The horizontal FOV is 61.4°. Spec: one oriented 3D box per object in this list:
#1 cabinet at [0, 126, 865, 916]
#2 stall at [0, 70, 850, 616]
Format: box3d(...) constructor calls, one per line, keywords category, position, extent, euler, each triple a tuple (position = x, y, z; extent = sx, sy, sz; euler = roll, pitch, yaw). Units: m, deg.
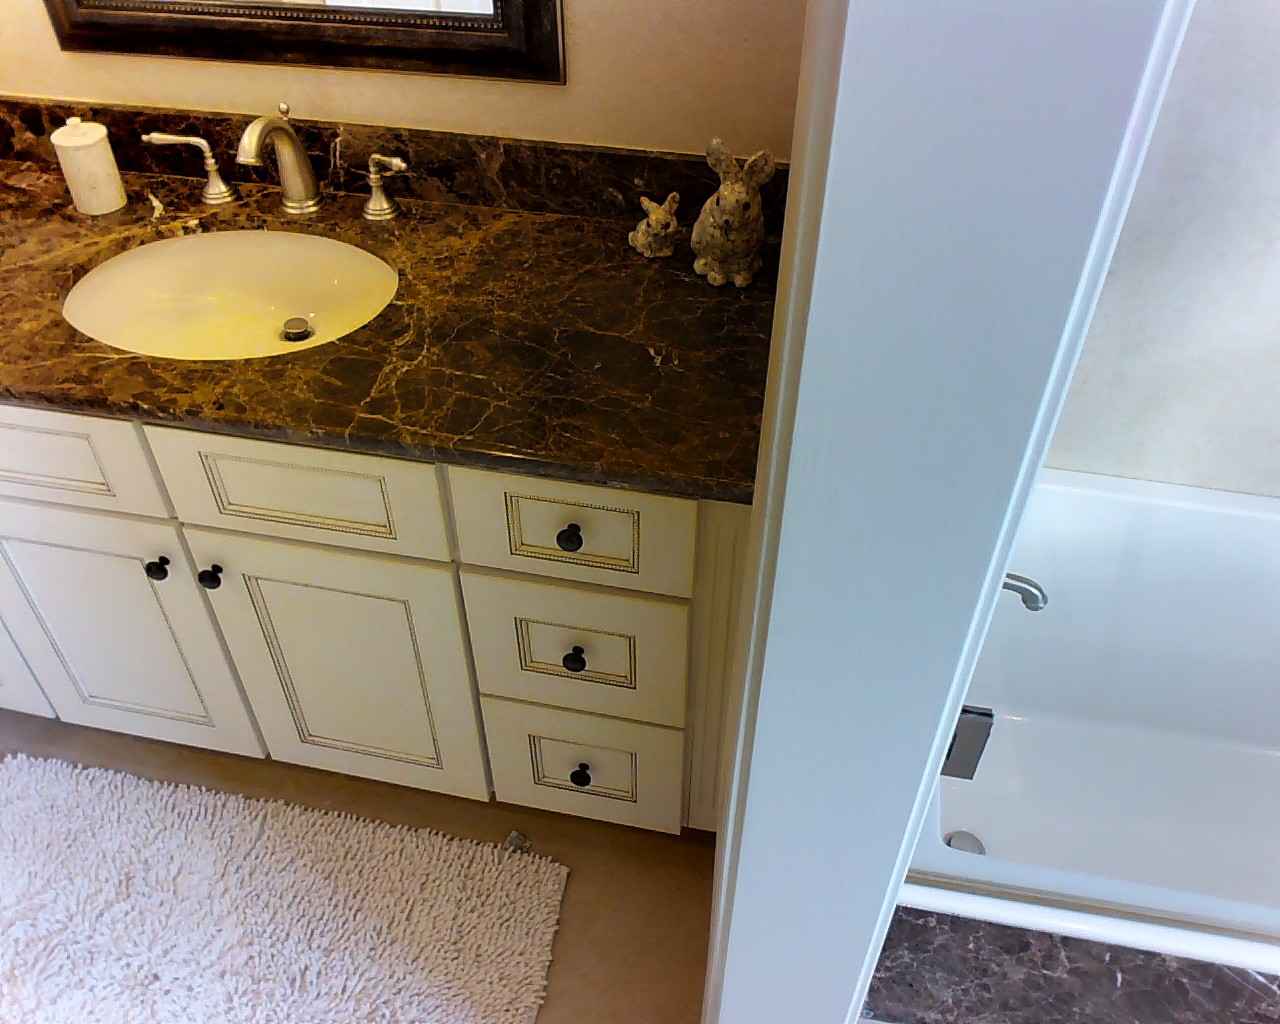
box3d(category="cabinet", position=(-0.540, 0.000, 1.710), extent=(1.610, 0.930, 0.540), euler=(9, 43, 9))
box3d(category="stall", position=(-0.540, -0.300, 1.470), extent=(1.560, 0.300, 0.590), euler=(9, 43, 9))
